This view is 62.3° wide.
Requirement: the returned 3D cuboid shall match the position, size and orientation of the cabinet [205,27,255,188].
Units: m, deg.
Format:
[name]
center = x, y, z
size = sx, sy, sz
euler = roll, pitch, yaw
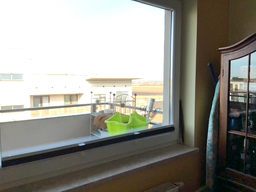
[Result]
[cabinet]
center = 1.090, 0.080, 1.460
size = 0.460, 1.070, 0.910
euler = -3, 6, -37
